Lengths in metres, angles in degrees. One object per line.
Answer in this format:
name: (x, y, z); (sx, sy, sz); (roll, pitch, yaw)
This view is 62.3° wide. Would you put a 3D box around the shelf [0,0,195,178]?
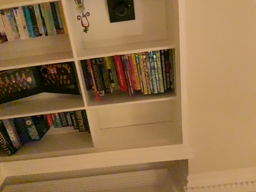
shelf: (-0.340, -0.430, 1.380); (1.390, 1.890, 0.510); (-6, -156, 3)
